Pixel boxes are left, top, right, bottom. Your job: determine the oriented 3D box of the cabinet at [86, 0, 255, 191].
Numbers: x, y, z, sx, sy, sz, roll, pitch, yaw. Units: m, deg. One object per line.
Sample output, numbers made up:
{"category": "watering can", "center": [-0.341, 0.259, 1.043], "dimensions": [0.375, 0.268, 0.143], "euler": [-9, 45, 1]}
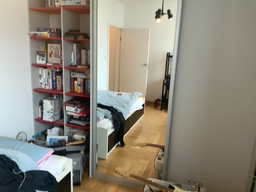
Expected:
{"category": "cabinet", "center": [0.490, -0.300, 2.320], "dimensions": [1.770, 2.610, 0.660], "euler": [7, 14, 18]}
